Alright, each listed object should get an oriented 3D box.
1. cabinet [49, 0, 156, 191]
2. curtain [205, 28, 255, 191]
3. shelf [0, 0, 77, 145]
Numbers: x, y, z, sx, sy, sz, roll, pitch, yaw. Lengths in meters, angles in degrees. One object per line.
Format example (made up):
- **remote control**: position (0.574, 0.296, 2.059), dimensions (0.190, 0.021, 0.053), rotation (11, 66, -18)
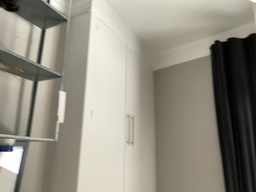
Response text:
- **cabinet**: position (-0.110, 0.660, 2.320), dimensions (0.260, 3.070, 1.620), rotation (-7, 164, 27)
- **curtain**: position (1.200, 0.390, 2.280), dimensions (0.520, 2.270, 0.140), rotation (-10, 162, 36)
- **shelf**: position (-0.700, -0.430, 1.360), dimensions (0.310, 1.440, 0.670), rotation (-7, 164, 27)
